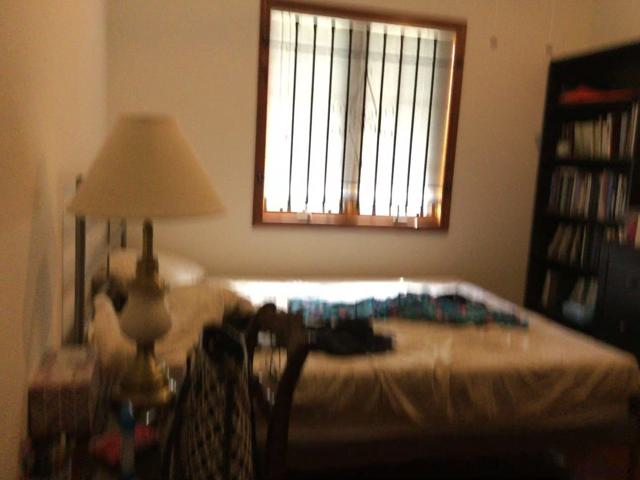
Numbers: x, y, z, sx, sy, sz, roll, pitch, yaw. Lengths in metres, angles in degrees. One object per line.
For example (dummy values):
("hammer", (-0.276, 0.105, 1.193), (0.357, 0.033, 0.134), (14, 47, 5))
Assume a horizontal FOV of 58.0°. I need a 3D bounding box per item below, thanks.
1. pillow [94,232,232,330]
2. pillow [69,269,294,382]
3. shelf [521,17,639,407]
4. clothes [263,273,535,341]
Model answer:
("pillow", (-0.750, 0.160, 2.800), (0.540, 0.270, 0.900), (0, 9, -15))
("pillow", (-0.500, 0.270, 2.110), (0.660, 0.180, 0.740), (0, 9, -15))
("shelf", (1.650, -0.170, 3.330), (0.350, 1.990, 0.830), (0, 9, -15))
("clothes", (0.320, 0.280, 2.610), (1.070, 0.130, 0.580), (0, 9, -14))
